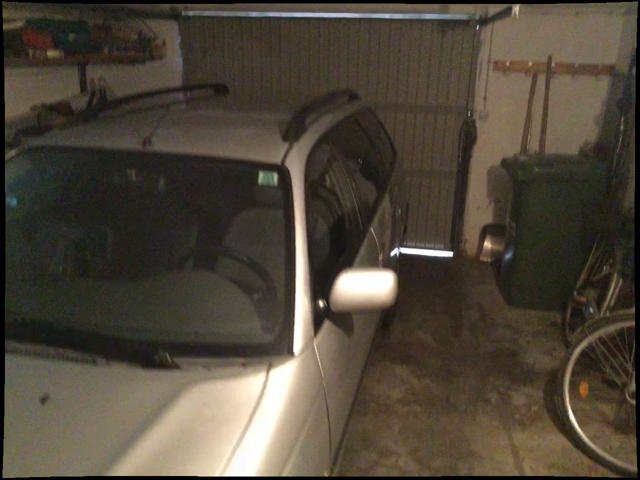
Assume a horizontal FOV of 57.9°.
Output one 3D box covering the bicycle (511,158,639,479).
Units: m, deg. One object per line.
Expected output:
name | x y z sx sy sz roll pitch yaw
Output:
bicycle | 1.469 0.250 2.900 0.649 0.961 1.790 3 20 9
